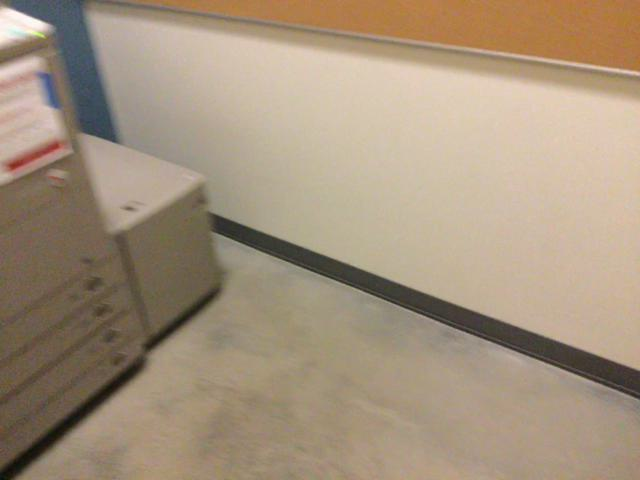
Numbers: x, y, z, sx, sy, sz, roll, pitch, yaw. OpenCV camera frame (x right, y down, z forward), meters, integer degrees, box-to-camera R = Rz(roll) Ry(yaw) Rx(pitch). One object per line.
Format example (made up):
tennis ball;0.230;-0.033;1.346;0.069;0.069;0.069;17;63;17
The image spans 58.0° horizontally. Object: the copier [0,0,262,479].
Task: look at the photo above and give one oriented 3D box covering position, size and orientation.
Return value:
copier;-0.850;-0.110;1.440;0.670;1.210;1.120;16;38;32
